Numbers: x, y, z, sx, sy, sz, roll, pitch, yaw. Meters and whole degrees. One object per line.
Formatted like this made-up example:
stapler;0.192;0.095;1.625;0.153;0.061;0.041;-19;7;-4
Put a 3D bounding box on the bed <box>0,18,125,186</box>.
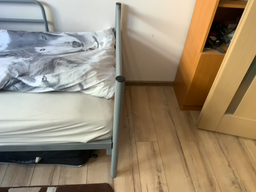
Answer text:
bed;-1.190;-0.020;1.270;2.260;0.590;0.890;1;42;-6
